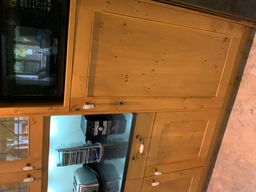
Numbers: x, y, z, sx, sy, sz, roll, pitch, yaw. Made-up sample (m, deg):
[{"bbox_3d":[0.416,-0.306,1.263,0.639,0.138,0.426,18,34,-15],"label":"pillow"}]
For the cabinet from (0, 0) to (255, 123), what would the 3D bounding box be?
[{"bbox_3d":[-0.210,-0.280,1.300,0.560,2.190,0.650,39,124,57],"label":"cabinet"}]
